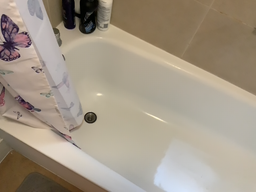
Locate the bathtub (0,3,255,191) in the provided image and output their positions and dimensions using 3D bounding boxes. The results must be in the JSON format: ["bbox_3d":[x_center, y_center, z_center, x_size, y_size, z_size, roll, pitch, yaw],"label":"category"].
[{"bbox_3d":[0.300,0.320,1.080,1.740,0.560,0.690,28,58,4],"label":"bathtub"}]
